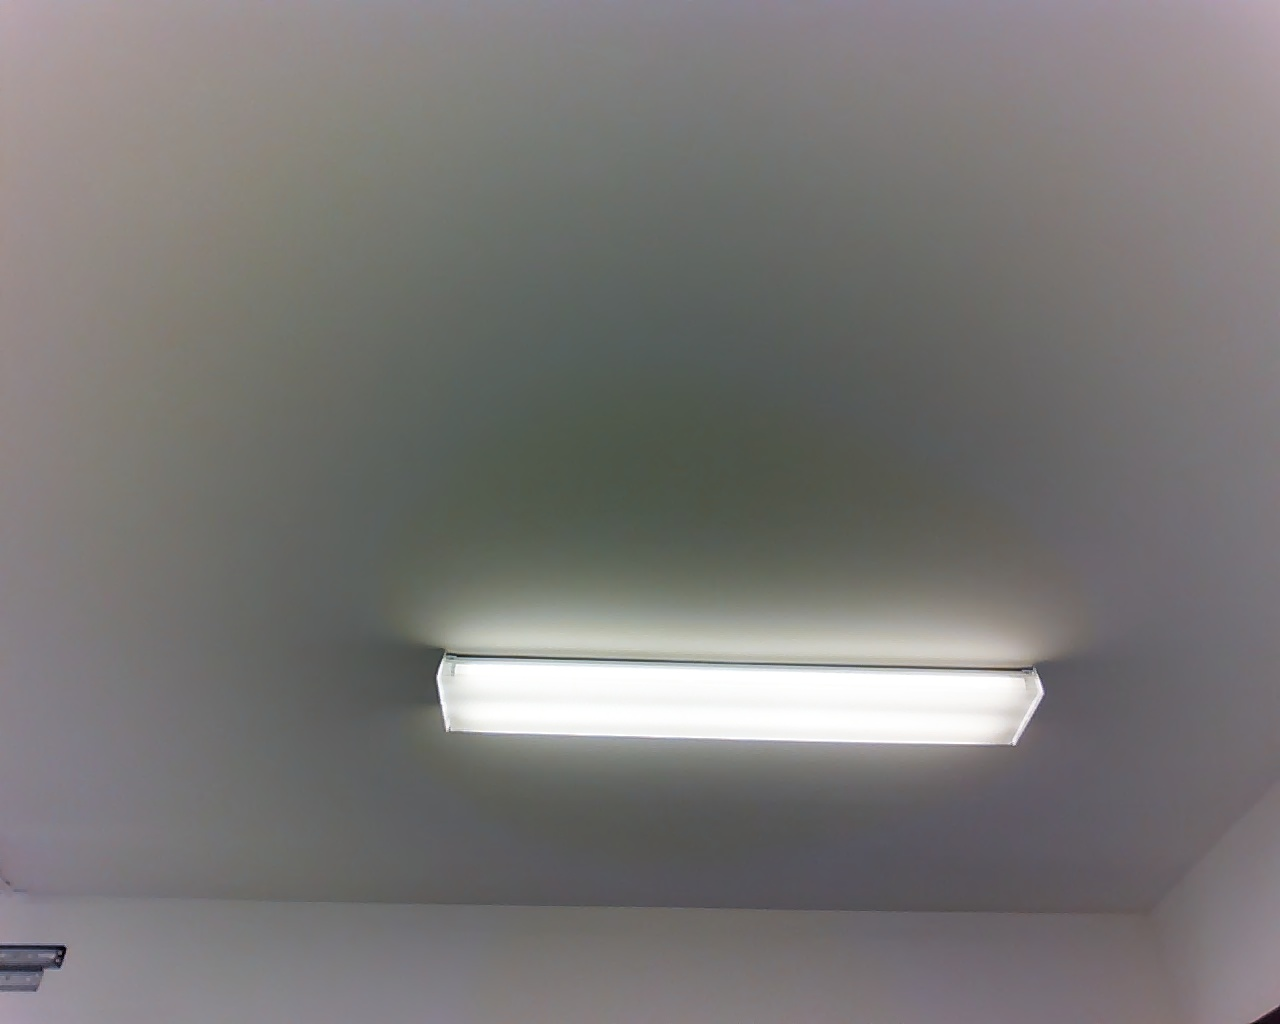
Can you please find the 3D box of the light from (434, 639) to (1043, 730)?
[{"bbox_3d":[0.200,0.370,2.300,1.240,0.070,0.220,1,-41,0],"label":"light"}]
